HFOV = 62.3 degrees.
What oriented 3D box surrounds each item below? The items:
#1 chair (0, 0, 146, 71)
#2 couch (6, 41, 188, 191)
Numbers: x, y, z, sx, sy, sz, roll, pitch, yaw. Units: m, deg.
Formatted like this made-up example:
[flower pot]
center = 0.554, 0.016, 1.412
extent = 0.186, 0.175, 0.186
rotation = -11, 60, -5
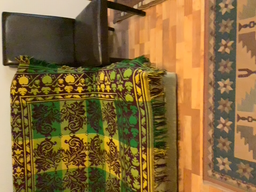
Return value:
[chair]
center = -0.420, -0.480, 1.680
extent = 0.640, 0.940, 0.460
rotation = 2, 93, 52
[couch]
center = -0.280, 0.740, 1.570
extent = 1.050, 0.900, 1.960
rotation = 2, 93, 52
